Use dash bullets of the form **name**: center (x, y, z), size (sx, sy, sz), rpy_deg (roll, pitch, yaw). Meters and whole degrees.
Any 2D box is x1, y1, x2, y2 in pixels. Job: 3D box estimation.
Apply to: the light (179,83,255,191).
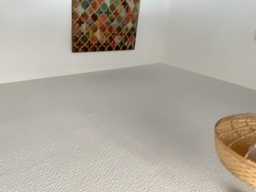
- **light**: center (0.600, 0.300, 0.820), size (0.410, 0.560, 0.550), rpy_deg (-2, -69, -46)
